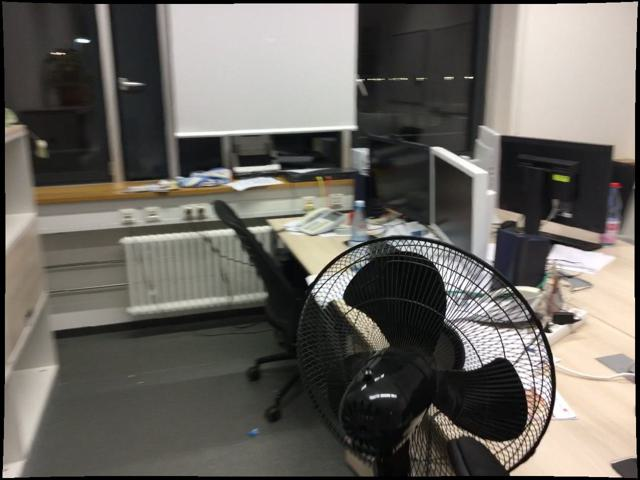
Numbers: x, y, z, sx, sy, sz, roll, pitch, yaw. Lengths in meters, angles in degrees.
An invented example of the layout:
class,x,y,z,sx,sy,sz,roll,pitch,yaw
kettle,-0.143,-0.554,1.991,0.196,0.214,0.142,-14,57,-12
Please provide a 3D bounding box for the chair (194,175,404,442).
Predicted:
class,x,y,z,sx,sy,sz,roll,pitch,yaw
chair,-0.120,0.250,2.690,0.719,0.951,0.650,-8,19,-26

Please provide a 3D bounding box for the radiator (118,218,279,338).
class,x,y,z,sx,sy,sz,roll,pitch,yaw
radiator,-0.699,0.210,3.420,0.879,0.591,0.220,-4,17,-16

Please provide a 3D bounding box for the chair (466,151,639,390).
class,x,y,z,sx,sy,sz,roll,pitch,yaw
chair,1.279,0.120,3.090,0.689,1.091,0.560,-5,17,-17
